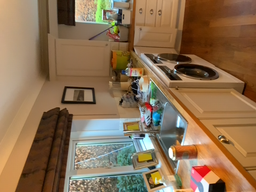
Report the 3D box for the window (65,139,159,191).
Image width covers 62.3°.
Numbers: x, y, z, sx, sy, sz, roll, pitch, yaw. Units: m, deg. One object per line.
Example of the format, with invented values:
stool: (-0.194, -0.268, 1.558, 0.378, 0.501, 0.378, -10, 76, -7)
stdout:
window: (-0.130, 1.000, 1.950, 1.820, 0.890, 0.090, -114, 27, -63)
